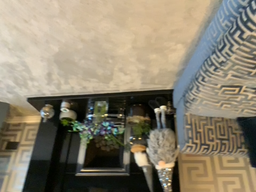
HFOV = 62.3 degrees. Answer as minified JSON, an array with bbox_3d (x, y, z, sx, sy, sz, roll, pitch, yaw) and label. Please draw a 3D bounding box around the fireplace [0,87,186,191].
[{"bbox_3d":[-0.250,0.590,1.850,1.390,1.130,0.550,-4,149,9],"label":"fireplace"}]
